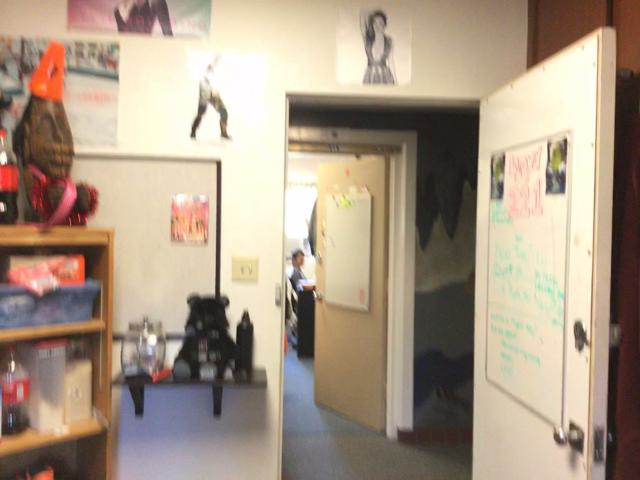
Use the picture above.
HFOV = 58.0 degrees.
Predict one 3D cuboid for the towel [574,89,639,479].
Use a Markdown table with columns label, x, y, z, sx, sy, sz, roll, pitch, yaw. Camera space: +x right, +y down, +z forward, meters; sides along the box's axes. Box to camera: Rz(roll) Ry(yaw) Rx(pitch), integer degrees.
| label | x | y | z | sx | sy | sz | roll | pitch | yaw |
| --- | --- | --- | --- | --- | --- | --- | --- | --- | --- |
| towel | 0.890 | 0.170 | 1.670 | 0.120 | 1.150 | 0.280 | 2 | 1 | -5 |

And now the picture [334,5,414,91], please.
| label | x | y | z | sx | sy | sz | roll | pitch | yaw |
| --- | --- | --- | --- | --- | --- | --- | --- | --- | --- |
| picture | 0.230 | -0.820 | 2.480 | 0.320 | 0.330 | 0.070 | 2 | 1 | -5 |
